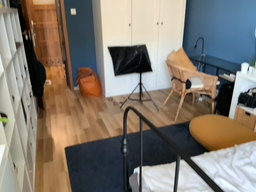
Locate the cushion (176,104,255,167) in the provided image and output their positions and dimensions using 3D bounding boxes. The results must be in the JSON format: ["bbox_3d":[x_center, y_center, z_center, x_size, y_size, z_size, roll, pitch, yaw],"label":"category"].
[{"bbox_3d":[1.050,0.390,2.430,0.640,0.220,0.790,-8,24,-20],"label":"cushion"}]
